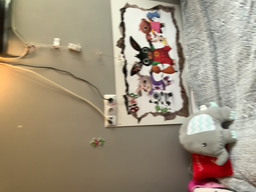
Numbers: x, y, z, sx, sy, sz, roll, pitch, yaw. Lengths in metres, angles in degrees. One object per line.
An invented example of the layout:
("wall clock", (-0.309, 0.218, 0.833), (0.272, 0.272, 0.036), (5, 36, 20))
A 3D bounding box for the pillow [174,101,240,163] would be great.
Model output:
("pillow", (0.490, 0.220, 1.390), (0.370, 0.200, 0.340), (161, 108, -71))

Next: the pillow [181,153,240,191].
("pillow", (0.510, 0.500, 1.360), (0.340, 0.170, 0.200), (160, 110, -71))
